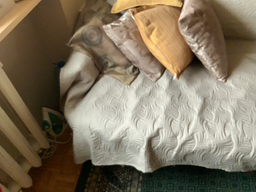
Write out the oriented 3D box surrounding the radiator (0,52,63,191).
[{"bbox_3d":[-0.580,0.200,0.990,0.200,0.650,0.460,3,48,10],"label":"radiator"}]
